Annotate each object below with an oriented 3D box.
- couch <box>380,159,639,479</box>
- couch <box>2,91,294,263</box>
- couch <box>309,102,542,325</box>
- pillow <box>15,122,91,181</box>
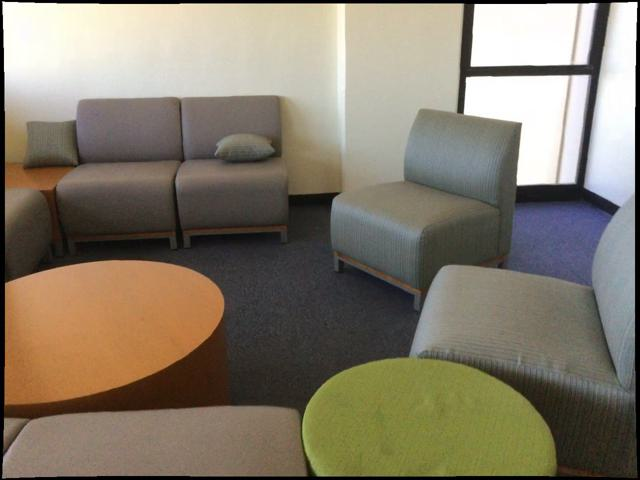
[{"bbox_3d":[0.688,0.251,1.890,0.848,0.842,0.700,5,23,16],"label":"couch"},{"bbox_3d":[-0.977,-0.441,3.680,1.536,0.832,0.760,-4,22,-5],"label":"couch"},{"bbox_3d":[0.529,-0.211,3.040,0.829,0.832,0.799,-18,27,-34],"label":"couch"},{"bbox_3d":[-1.726,-0.582,3.750,0.329,0.301,0.300,-4,22,-5],"label":"pillow"}]
